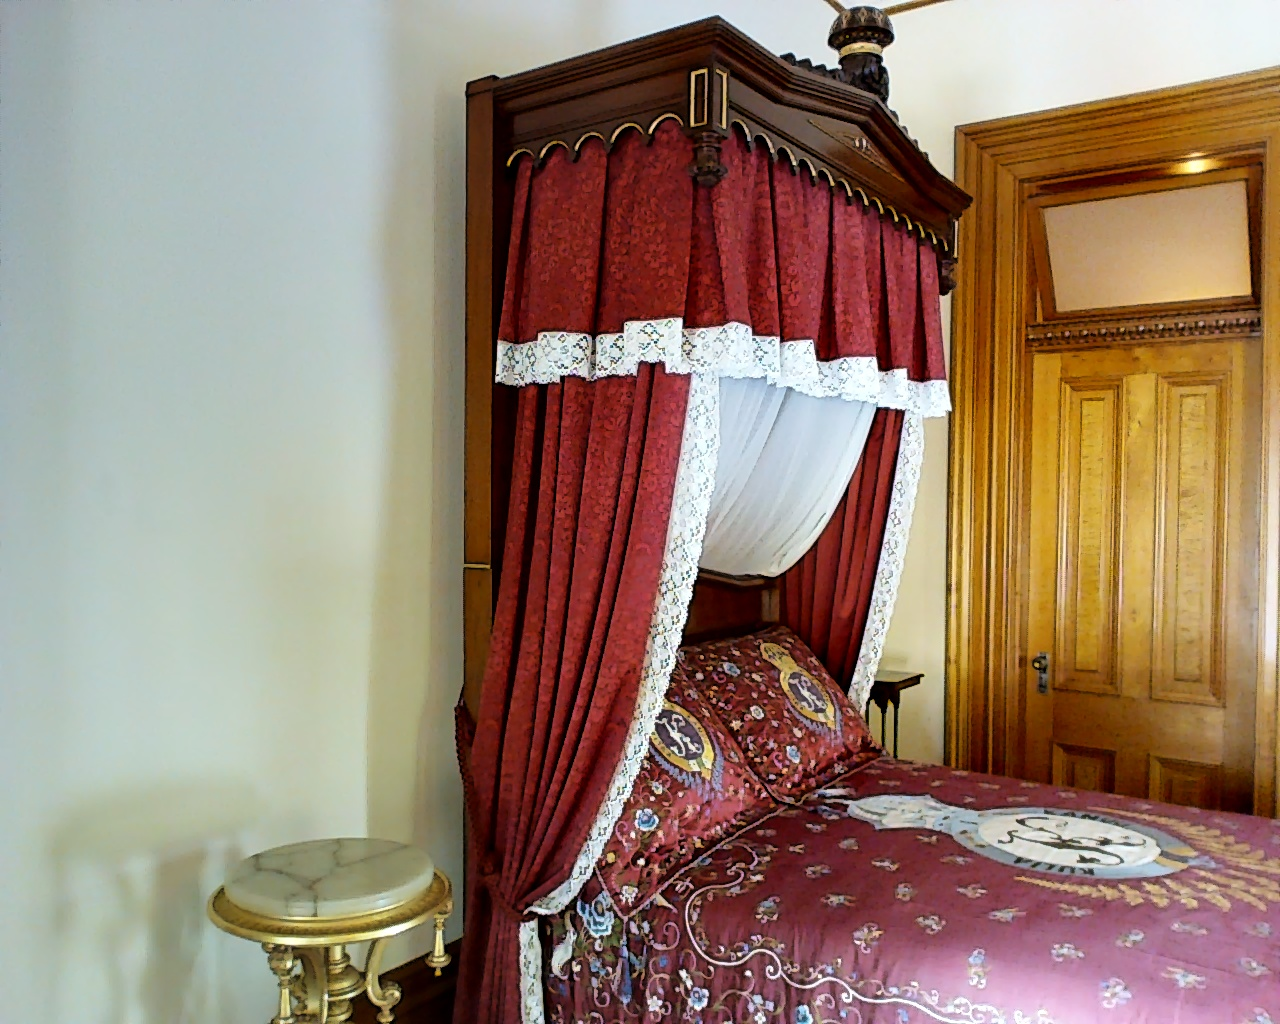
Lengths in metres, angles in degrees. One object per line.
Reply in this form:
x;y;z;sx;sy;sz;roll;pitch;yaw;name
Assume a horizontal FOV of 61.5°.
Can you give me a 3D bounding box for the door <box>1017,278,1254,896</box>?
2.050;0.290;4.500;0.870;2.410;0.120;1;0;37;door
